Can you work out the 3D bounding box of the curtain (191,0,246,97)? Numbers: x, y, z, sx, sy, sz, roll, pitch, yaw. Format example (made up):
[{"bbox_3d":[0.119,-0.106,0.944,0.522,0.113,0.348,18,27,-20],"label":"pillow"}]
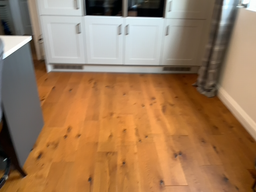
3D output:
[{"bbox_3d":[1.160,-1.050,2.520,0.270,2.230,0.280,-8,31,-20],"label":"curtain"}]
